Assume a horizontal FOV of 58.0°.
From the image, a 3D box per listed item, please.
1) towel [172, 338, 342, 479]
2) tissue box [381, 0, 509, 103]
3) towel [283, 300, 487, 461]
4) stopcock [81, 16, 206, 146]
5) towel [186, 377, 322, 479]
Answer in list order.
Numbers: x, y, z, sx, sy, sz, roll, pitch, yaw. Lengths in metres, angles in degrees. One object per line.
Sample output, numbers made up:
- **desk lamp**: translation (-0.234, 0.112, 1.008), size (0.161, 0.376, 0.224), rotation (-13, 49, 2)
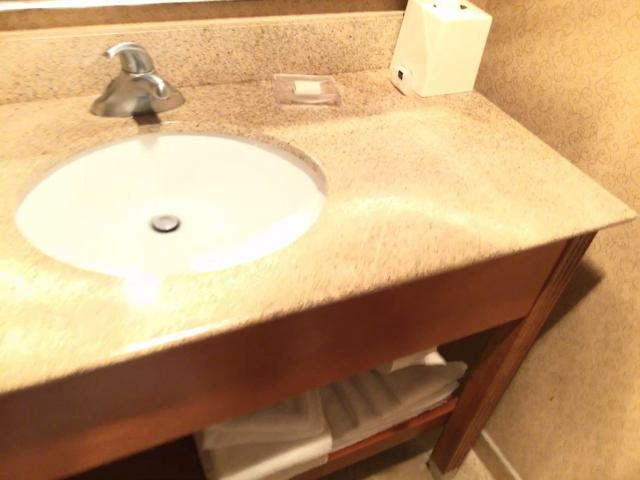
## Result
- **towel**: translation (-0.130, 0.360, 1.130), size (0.250, 0.150, 0.230), rotation (-14, 44, -24)
- **tissue box**: translation (0.230, -0.380, 1.100), size (0.150, 0.170, 0.140), rotation (-14, 44, -24)
- **towel**: translation (0.140, 0.300, 1.300), size (0.380, 0.110, 0.230), rotation (-14, 44, -24)
- **stopcock**: translation (-0.260, -0.240, 0.860), size (0.140, 0.130, 0.130), rotation (-14, 44, -24)
- **towel**: translation (-0.120, 0.340, 1.050), size (0.220, 0.060, 0.100), rotation (-14, 44, -24)
